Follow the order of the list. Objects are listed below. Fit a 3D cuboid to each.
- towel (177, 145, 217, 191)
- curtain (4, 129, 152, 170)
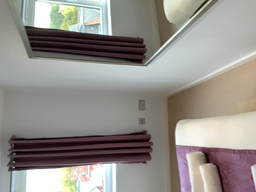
[{"bbox_3d":[0.480,0.580,1.500,0.280,0.120,0.430,152,118,-71],"label":"towel"},{"bbox_3d":[-0.580,0.680,2.840,0.190,1.860,0.440,161,110,-72],"label":"curtain"}]
